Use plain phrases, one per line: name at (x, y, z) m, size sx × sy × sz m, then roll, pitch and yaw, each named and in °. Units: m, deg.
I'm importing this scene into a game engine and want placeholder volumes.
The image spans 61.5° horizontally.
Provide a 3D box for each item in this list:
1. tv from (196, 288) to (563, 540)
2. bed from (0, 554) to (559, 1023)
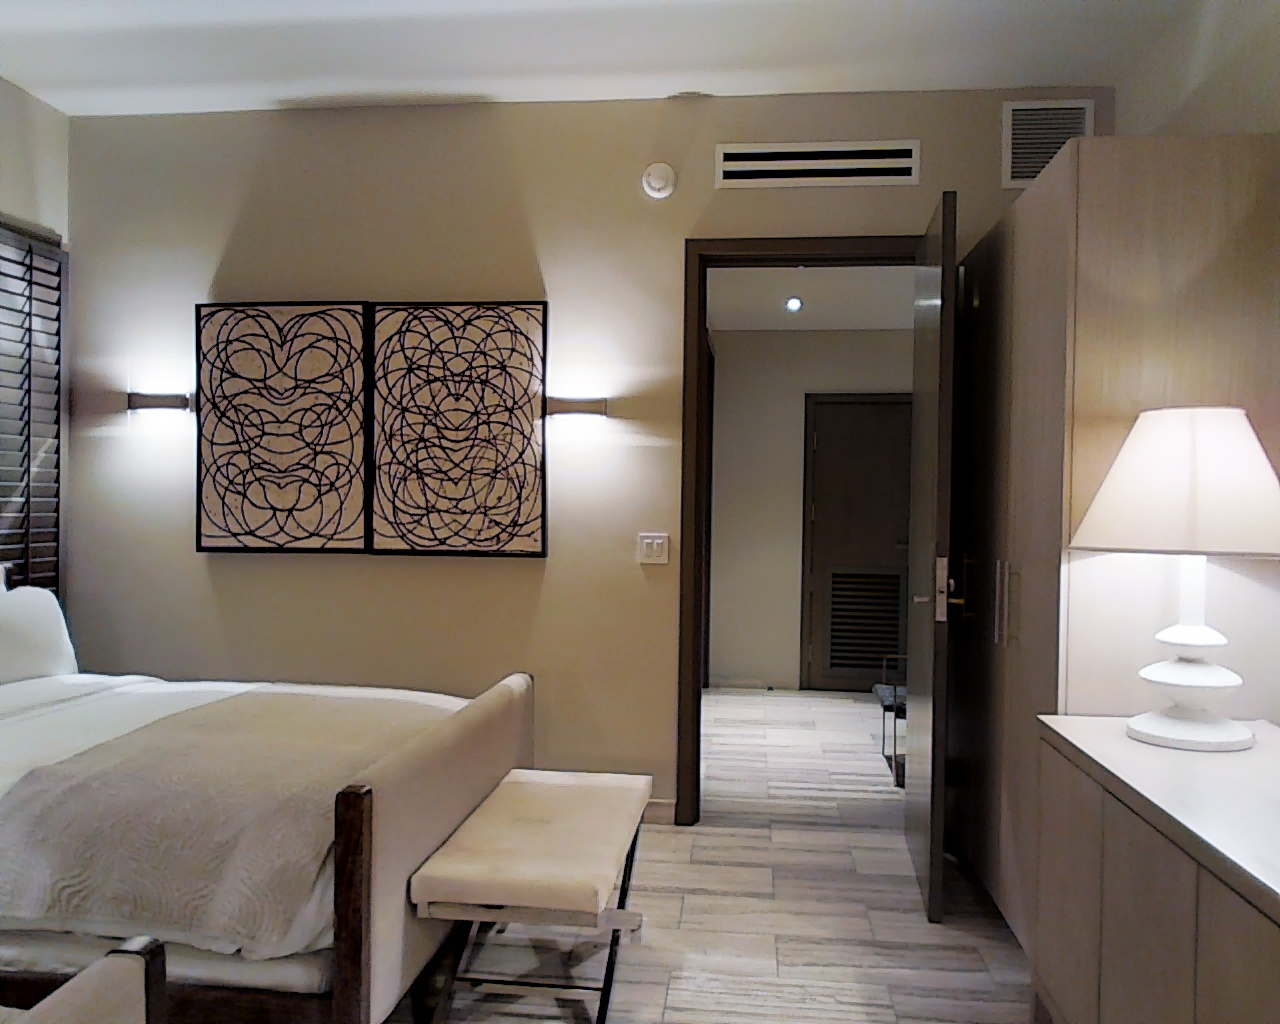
tv at (-1.130, -0.420, 4.630) m, size 1.590 × 1.050 × 0.100 m, roll 1°, pitch 1°, yaw 7°
bed at (-1.520, 0.740, 3.350) m, size 2.240 × 1.090 × 1.640 m, roll 1°, pitch 1°, yaw 7°
